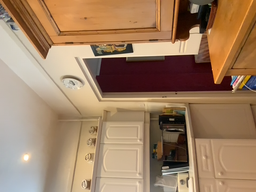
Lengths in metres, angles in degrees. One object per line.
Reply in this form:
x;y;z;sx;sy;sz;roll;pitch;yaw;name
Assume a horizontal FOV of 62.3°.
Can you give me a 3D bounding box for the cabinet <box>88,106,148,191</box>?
-0.090;0.840;2.690;0.350;0.660;1.400;77;-166;-61;cabinet
